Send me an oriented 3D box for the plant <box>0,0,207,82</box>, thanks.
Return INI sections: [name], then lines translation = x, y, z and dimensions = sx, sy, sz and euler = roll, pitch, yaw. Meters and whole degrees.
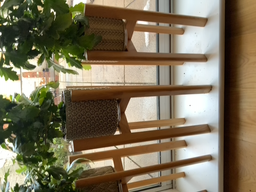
[plant]
translation = -0.080, -0.170, 0.660
dimensions = 0.230, 0.610, 0.220
euler = 173, 95, -66
